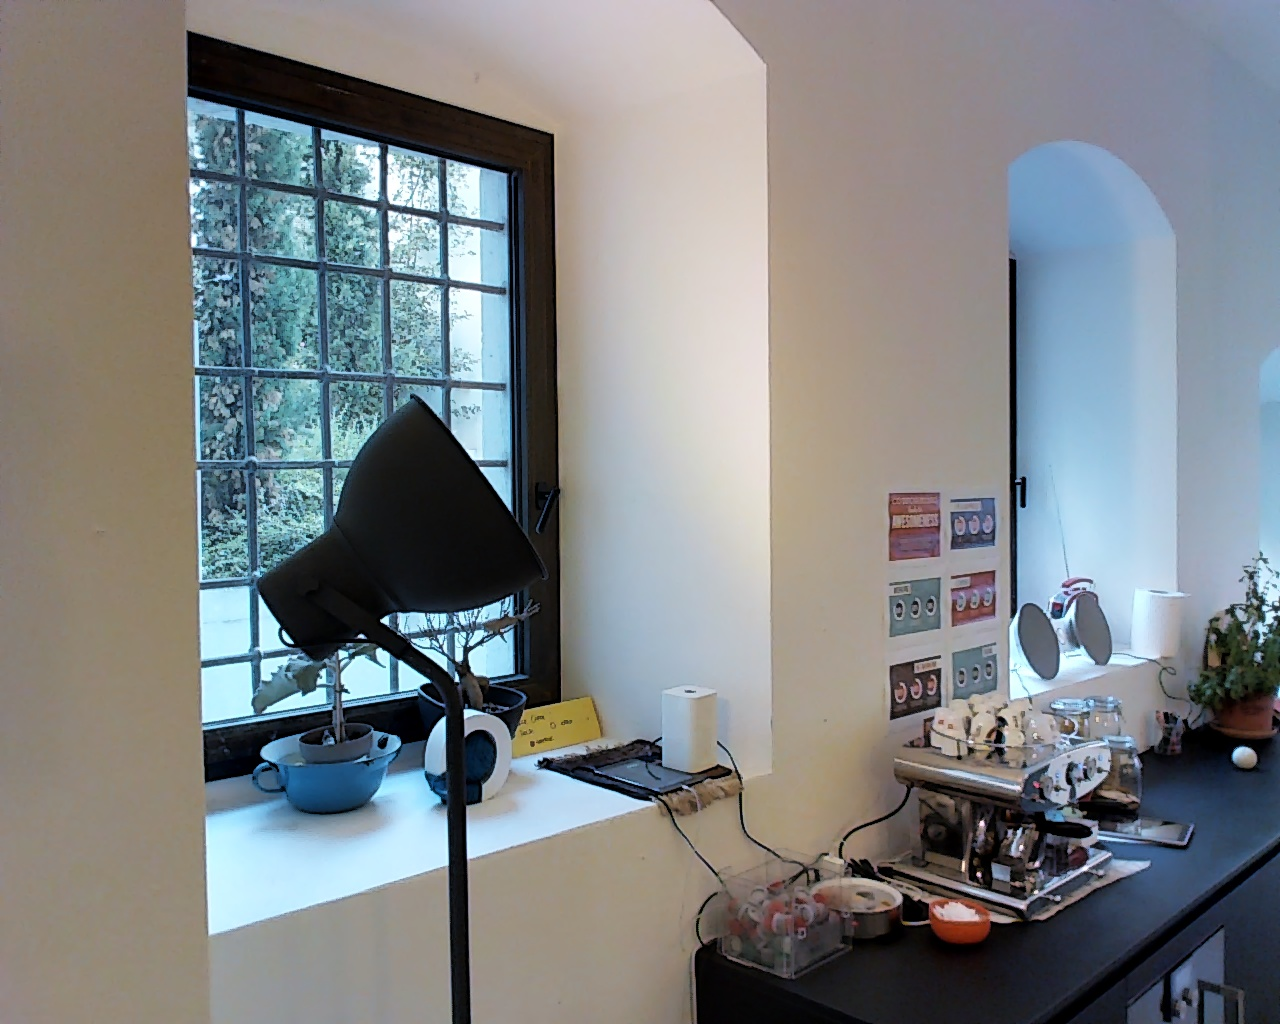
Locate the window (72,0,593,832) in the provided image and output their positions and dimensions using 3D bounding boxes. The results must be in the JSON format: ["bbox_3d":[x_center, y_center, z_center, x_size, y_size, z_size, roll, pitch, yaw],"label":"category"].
[{"bbox_3d":[-0.570,-0.200,2.330,1.170,1.510,0.080,-2,2,-45],"label":"window"}]
